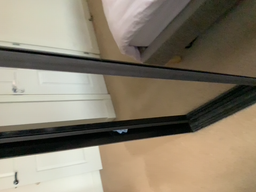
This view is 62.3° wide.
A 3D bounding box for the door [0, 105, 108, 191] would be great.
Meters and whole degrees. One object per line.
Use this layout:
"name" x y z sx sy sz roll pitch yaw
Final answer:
"door" -1.240 0.560 2.340 0.140 2.040 0.900 -40 58 47
